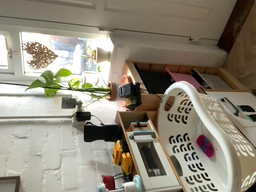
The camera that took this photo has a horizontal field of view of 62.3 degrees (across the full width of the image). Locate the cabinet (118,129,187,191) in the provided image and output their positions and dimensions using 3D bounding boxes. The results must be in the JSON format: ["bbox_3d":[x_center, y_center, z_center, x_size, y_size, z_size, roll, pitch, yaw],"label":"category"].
[{"bbox_3d":[0.100,0.370,1.090,0.340,0.200,0.210,-113,30,-48],"label":"cabinet"}]
